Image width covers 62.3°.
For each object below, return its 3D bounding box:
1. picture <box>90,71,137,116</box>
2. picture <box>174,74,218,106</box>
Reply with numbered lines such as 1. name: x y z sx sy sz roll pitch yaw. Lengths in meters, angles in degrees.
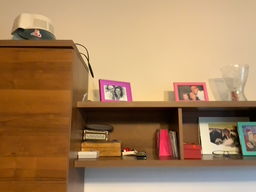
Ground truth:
1. picture: -0.080 -0.010 1.180 0.220 0.190 0.120 -11 -11 -2
2. picture: 0.370 -0.030 1.180 0.200 0.150 0.130 0 -10 2
